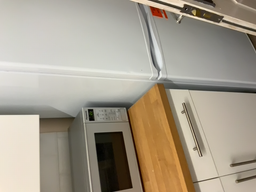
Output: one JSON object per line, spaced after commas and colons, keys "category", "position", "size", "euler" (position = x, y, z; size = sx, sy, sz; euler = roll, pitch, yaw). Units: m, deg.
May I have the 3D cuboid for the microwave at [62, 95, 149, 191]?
{"category": "microwave", "position": [-0.150, 0.310, 1.080], "size": [0.380, 0.260, 0.500], "euler": [-47, 48, 50]}
